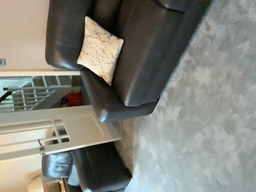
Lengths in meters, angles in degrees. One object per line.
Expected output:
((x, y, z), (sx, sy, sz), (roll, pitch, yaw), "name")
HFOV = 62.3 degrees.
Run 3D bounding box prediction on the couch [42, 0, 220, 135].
((-0.020, -0.890, 1.640), (1.050, 0.920, 2.270), (59, 140, 37), "couch")
